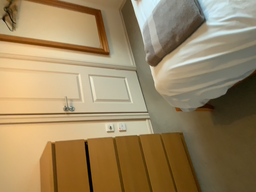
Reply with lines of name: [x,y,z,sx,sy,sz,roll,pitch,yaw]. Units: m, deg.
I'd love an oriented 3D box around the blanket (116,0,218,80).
blanket: [0.210,-0.460,1.330,0.460,0.540,0.120,39,-145,23]
